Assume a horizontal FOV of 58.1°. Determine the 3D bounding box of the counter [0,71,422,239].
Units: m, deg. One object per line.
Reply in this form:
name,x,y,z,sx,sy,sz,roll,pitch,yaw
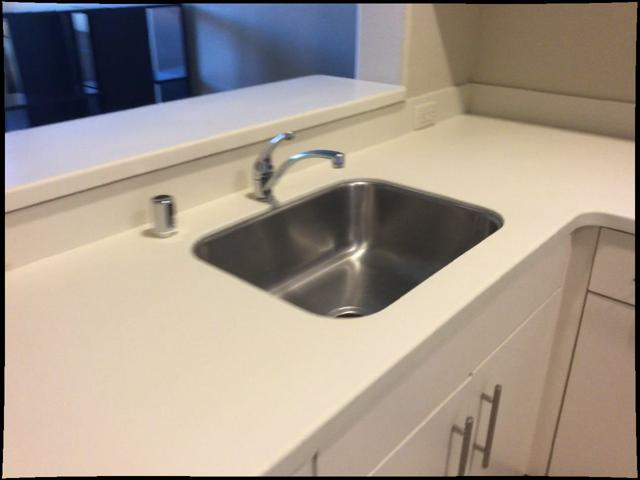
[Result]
counter,-0.429,-0.201,1.290,0.370,0.060,1.879,19,32,36
